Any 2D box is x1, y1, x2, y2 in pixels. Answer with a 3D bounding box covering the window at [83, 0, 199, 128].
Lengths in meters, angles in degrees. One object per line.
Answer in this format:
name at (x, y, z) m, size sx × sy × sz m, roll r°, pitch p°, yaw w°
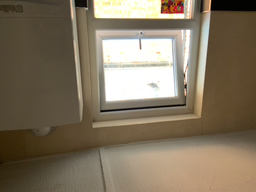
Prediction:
window at (0.070, -0.460, 1.420) m, size 0.690 × 1.260 × 0.300 m, roll -4°, pitch -163°, yaw -13°
